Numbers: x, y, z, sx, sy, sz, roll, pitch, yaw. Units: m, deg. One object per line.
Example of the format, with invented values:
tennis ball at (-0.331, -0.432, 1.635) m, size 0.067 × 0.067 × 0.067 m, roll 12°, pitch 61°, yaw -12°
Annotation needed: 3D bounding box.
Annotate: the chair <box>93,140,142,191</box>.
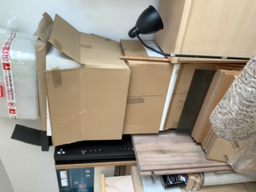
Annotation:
chair at (-0.130, 0.740, 1.920) m, size 0.520 × 0.360 × 0.390 m, roll -108°, pitch 20°, yaw -56°
